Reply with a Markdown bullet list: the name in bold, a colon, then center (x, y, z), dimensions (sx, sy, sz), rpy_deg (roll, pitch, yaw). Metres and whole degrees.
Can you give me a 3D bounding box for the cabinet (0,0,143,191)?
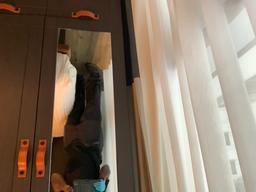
- **cabinet**: center (-0.500, 0.210, 1.280), dimensions (0.980, 2.010, 0.620), rpy_deg (1, 159, -13)
